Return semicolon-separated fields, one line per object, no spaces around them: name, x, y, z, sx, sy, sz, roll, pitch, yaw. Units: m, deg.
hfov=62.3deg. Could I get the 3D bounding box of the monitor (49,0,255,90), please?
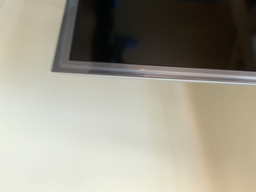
monitor;0.240;-0.310;0.760;0.900;0.620;0.040;3;152;-7
